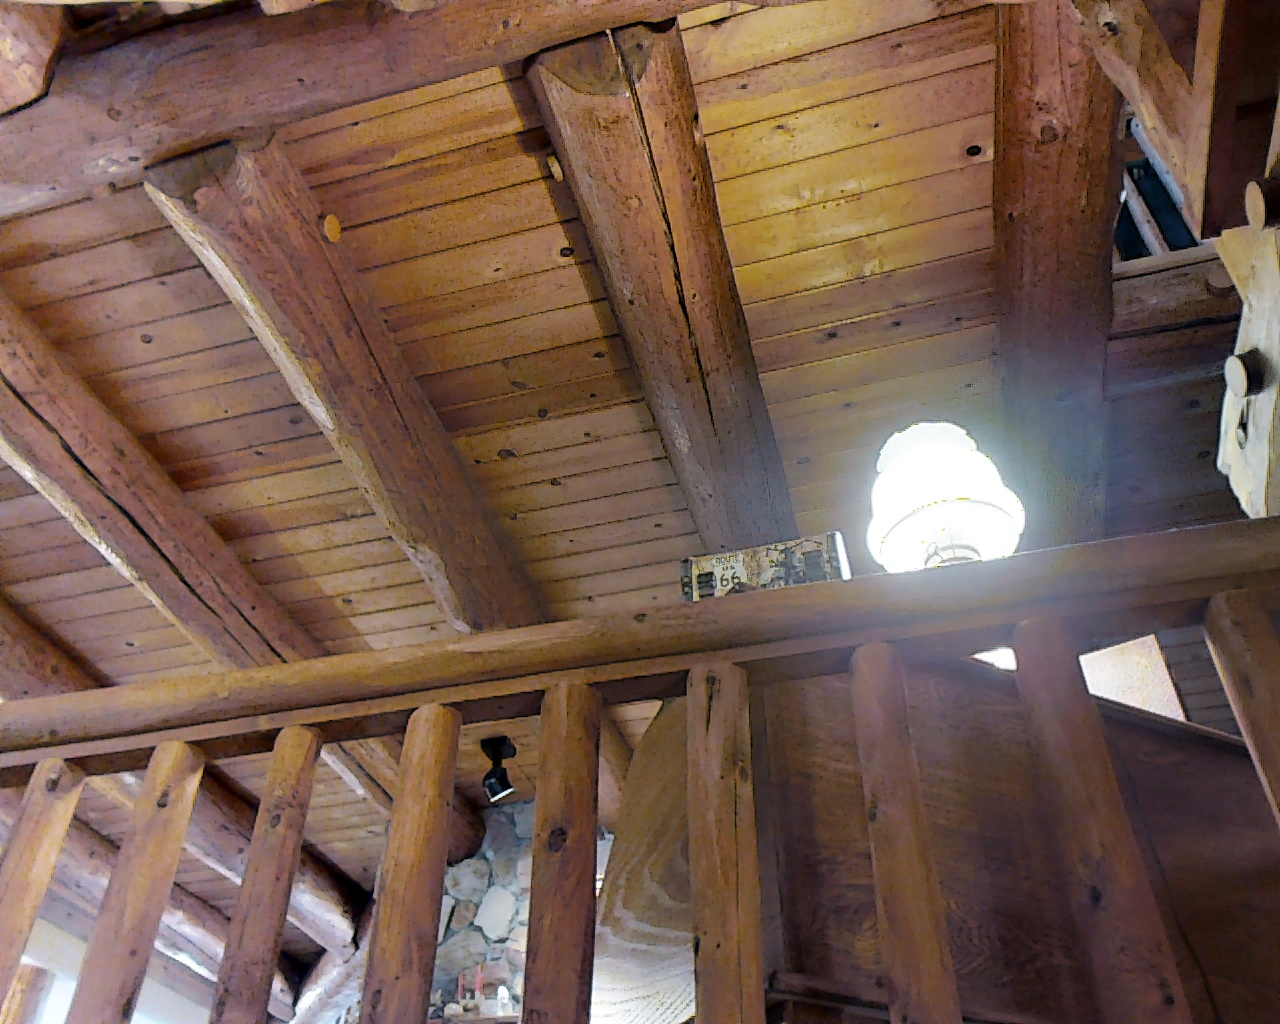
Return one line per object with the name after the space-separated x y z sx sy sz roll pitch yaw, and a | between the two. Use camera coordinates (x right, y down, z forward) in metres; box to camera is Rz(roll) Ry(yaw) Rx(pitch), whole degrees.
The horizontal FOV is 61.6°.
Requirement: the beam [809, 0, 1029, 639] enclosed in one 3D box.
0.640 -0.850 2.440 0.390 0.310 3.571 -10 -42 12 | beam
